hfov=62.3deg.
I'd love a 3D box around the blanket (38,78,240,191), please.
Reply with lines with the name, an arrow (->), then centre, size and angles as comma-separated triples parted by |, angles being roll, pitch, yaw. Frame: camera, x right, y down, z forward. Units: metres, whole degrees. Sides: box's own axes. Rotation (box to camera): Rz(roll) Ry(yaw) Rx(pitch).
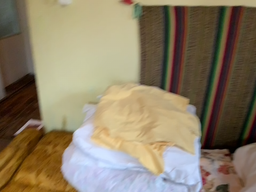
blanket -> 0.060, 0.270, 1.260 | 0.790, 0.440, 0.750 | 6, 26, 5

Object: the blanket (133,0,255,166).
blanket -> 0.760, -0.020, 1.420 | 1.370, 1.090, 0.150 | 6, 26, 4
